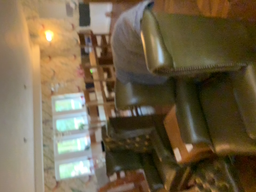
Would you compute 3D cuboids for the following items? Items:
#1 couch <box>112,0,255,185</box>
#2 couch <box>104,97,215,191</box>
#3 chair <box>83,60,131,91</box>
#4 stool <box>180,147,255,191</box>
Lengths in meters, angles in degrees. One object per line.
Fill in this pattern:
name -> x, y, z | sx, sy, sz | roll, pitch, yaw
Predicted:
couch -> 0.510, -0.070, 1.350 | 0.800, 1.000, 0.880 | 137, 126, -72
couch -> 0.270, 0.640, 2.580 | 0.840, 0.970, 0.790 | 99, 159, -44
chair -> -0.510, -0.480, 4.980 | 0.480, 1.030, 0.460 | 111, 150, -59
stool -> 0.800, 0.780, 1.870 | 0.650, 0.320, 0.440 | 111, 150, -59
